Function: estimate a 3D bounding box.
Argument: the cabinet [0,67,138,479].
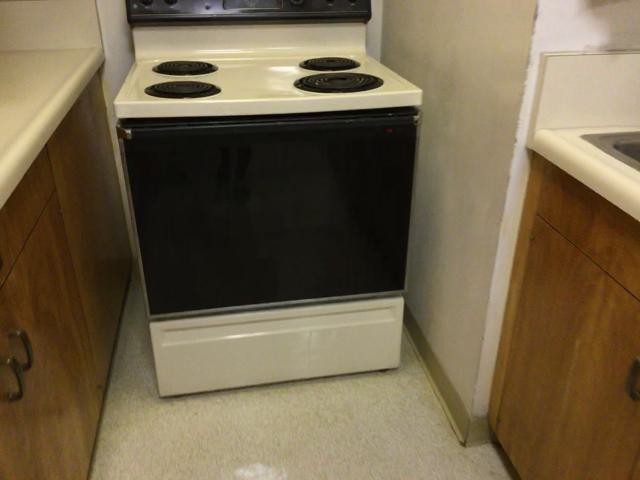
[{"bbox_3d":[-0.510,0.390,0.950,0.060,0.830,2.730,-6,27,-10],"label":"cabinet"}]

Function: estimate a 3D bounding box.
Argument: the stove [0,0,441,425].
[{"bbox_3d":[-0.250,-0.190,1.830,0.930,1.140,0.780,-5,27,-9],"label":"stove"}]
